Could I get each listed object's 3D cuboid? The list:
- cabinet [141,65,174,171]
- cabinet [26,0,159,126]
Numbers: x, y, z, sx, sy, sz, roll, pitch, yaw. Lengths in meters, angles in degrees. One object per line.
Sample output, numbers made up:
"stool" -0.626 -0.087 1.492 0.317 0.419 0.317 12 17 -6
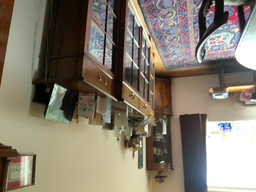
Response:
"cabinet" 0.540 0.390 3.910 0.490 1.810 0.490 -3 165 17
"cabinet" -0.050 -0.370 2.270 0.370 1.120 2.180 -4 165 17
